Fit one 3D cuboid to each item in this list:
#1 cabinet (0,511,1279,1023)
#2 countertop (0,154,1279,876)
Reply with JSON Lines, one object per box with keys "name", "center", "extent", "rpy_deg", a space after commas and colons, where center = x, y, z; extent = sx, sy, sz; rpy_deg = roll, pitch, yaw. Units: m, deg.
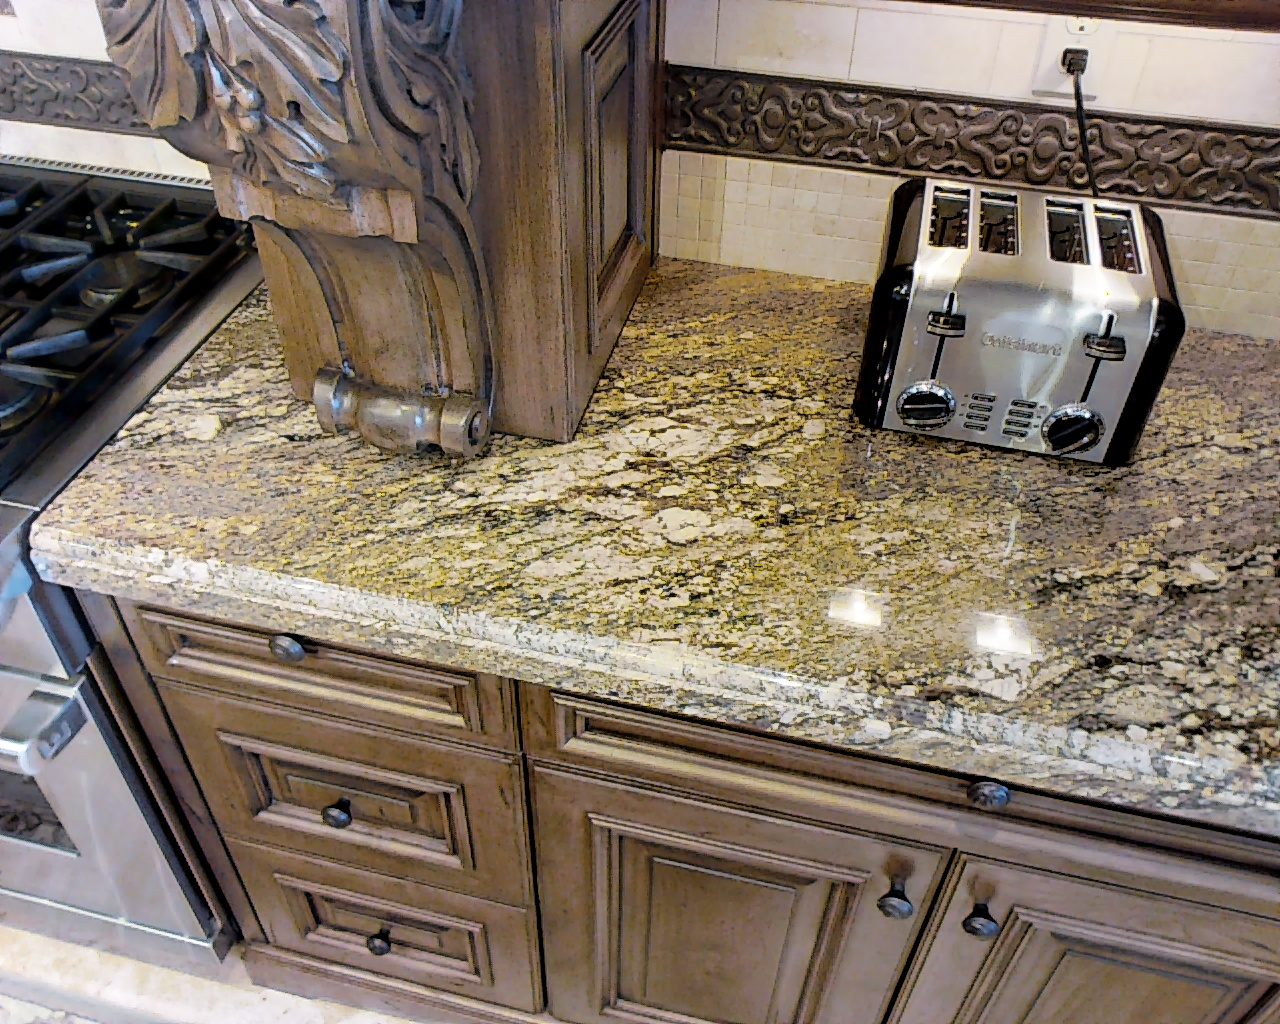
{"name": "cabinet", "center": [-1.080, 0.310, 1.340], "extent": [3.610, 0.920, 0.150], "rpy_deg": [10, 43, 10]}
{"name": "countertop", "center": [-1.010, -0.260, 1.270], "extent": [3.640, 0.060, 0.690], "rpy_deg": [10, 43, 10]}
